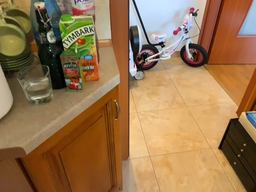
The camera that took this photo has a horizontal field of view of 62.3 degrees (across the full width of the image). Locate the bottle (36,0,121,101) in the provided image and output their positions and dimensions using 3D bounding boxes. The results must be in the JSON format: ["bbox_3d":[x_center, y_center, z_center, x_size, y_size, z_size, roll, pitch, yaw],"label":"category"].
[{"bbox_3d":[-0.140,-0.210,0.680,0.180,0.280,0.340,-7,40,-9],"label":"bottle"}]
